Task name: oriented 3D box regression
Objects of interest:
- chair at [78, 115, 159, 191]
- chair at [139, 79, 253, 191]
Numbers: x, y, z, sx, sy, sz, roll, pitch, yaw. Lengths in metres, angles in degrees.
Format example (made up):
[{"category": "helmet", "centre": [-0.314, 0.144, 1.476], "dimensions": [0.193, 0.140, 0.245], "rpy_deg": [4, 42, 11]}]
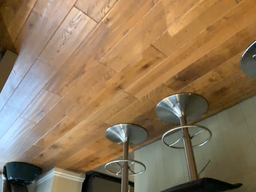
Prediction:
[{"category": "chair", "centre": [-0.090, 0.770, 1.760], "dimensions": [0.510, 1.030, 0.470], "rpy_deg": [19, 138, -22]}, {"category": "chair", "centre": [0.430, 0.470, 1.440], "dimensions": [0.490, 0.960, 0.470], "rpy_deg": [26, 135, -29]}]
